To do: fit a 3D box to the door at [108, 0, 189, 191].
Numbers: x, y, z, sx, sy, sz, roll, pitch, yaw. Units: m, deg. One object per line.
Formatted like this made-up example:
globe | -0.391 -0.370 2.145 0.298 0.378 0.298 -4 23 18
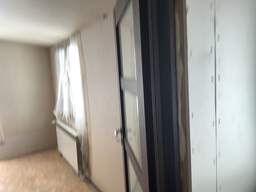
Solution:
door | 0.070 0.440 1.240 0.180 2.000 0.970 -5 7 -8
